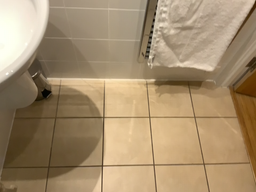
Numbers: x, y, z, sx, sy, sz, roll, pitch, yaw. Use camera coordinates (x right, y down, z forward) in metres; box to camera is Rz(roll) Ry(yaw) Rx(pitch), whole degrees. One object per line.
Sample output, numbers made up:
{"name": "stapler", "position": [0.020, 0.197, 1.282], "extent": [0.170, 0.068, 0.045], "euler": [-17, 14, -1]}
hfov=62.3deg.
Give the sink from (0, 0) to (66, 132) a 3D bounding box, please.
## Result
{"name": "sink", "position": [-0.450, -0.180, 0.640], "extent": [0.430, 0.160, 0.550], "euler": [0, 62, -5]}
